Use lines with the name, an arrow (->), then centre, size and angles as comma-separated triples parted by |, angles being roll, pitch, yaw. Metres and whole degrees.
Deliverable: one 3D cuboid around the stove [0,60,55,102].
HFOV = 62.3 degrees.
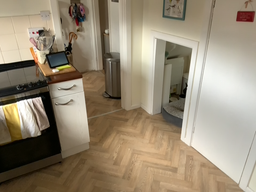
stove -> -1.050, -0.140, 1.860 | 0.640, 0.090, 0.640 | -14, 30, -26
